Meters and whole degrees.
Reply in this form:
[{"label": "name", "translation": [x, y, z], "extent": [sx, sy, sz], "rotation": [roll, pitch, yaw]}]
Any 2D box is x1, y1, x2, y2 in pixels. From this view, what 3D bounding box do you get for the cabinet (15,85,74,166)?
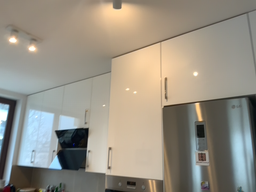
[{"label": "cabinet", "translation": [-1.370, 0.500, 3.490], "extent": [0.920, 1.190, 0.320], "rotation": [-9, -19, 36]}]
